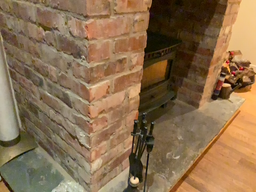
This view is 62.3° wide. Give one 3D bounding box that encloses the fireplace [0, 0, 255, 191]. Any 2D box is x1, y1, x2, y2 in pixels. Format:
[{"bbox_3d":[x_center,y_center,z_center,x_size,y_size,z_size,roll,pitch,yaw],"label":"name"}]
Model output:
[{"bbox_3d":[0.230,-0.420,1.540,1.040,1.650,2.240,27,36,34],"label":"fireplace"}]
